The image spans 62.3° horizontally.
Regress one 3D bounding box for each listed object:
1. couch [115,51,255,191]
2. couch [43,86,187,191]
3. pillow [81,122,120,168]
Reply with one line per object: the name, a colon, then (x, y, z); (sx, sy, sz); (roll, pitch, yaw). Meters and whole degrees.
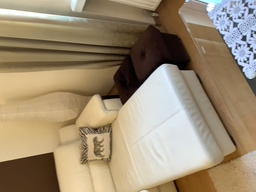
couch: (0.360, 0.220, 1.670); (0.740, 0.420, 0.810); (-46, 56, 47)
couch: (0.000, 1.270, 1.890); (0.940, 0.870, 2.580); (-46, 57, 47)
pillow: (-0.280, 0.480, 2.110); (0.180, 0.300, 0.380); (-154, 75, -74)
